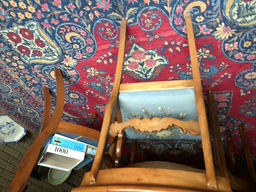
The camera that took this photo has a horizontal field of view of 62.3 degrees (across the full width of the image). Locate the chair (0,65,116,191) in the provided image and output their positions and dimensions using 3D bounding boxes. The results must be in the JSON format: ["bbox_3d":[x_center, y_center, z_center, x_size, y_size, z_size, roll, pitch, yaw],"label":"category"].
[{"bbox_3d":[-0.460,0.340,1.490,0.480,0.910,0.440,26,140,-24],"label":"chair"}]

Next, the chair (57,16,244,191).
[{"bbox_3d":[0.130,0.120,1.070,0.550,0.910,0.530,-1,143,11],"label":"chair"}]
